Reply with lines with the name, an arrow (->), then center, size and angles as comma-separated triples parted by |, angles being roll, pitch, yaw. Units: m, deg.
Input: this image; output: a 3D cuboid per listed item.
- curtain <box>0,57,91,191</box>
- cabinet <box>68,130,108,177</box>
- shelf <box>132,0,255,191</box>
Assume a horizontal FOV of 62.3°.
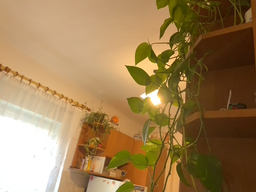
curtain -> -1.050, 0.590, 2.160 | 0.250, 1.560, 1.130 | -6, -27, 37
cabinet -> -0.540, 0.770, 2.880 | 0.330, 0.540, 0.250 | -4, -26, 35
shelf -> 0.260, -0.030, 0.620 | 0.330, 0.710, 0.200 | -5, -27, 36
